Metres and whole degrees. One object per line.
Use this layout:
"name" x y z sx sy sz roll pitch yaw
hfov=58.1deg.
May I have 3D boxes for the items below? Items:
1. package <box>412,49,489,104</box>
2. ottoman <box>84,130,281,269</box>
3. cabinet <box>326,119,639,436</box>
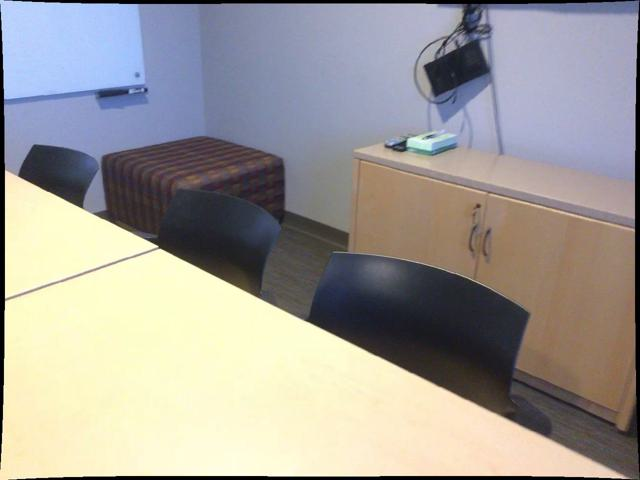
"package" 0.549 -0.691 2.430 0.250 0.160 0.120 20 -2 35
"ottoman" -0.769 -0.280 3.320 0.769 0.451 0.760 19 30 35
"cabinet" 0.699 0.040 2.310 1.269 0.771 0.550 19 30 35
